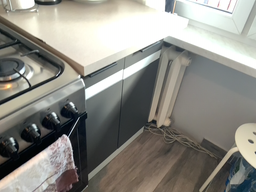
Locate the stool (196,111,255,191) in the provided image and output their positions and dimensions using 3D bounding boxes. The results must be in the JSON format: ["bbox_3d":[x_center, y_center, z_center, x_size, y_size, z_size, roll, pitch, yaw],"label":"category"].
[{"bbox_3d":[0.630,0.400,1.110,0.320,0.460,0.310,31,45,27],"label":"stool"}]
